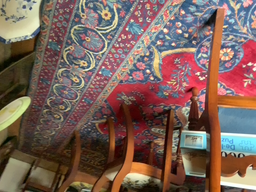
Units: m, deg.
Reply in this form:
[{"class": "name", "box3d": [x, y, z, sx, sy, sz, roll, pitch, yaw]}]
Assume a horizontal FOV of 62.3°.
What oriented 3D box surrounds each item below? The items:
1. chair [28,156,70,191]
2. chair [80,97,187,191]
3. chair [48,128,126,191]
[{"class": "chair", "box3d": [-1.250, 1.430, 3.110, 0.380, 0.870, 0.570, 25, 143, -14]}, {"class": "chair", "box3d": [0.030, 0.570, 1.510, 0.540, 0.860, 0.480, 26, 143, -16]}, {"class": "chair", "box3d": [-0.410, 0.880, 2.060, 0.540, 0.880, 0.510, 15, 145, 0]}]
